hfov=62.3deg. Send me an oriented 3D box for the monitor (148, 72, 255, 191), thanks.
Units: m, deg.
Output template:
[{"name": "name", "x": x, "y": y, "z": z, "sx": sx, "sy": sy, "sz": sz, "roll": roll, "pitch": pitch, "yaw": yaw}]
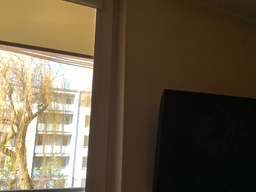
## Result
[{"name": "monitor", "x": 0.510, "y": 0.260, "z": 1.040, "sx": 0.800, "sy": 0.510, "sz": 0.030, "roll": 21, "pitch": -18, "yaw": -16}]
